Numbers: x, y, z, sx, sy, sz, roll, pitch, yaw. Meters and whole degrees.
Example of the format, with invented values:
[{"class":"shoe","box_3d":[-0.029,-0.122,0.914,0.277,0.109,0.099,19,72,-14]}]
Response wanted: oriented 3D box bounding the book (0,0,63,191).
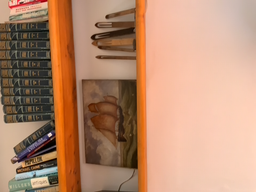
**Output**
[{"class":"book","box_3d":[-0.480,-0.010,0.940,0.180,0.280,1.470,-40,-51,-81]}]
